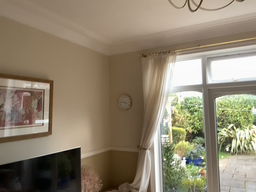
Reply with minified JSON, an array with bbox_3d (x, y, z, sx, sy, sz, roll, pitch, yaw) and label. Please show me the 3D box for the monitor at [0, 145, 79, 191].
[{"bbox_3d":[-0.890,0.920,1.940,0.070,0.750,1.210,-4,-5,28],"label":"monitor"}]
